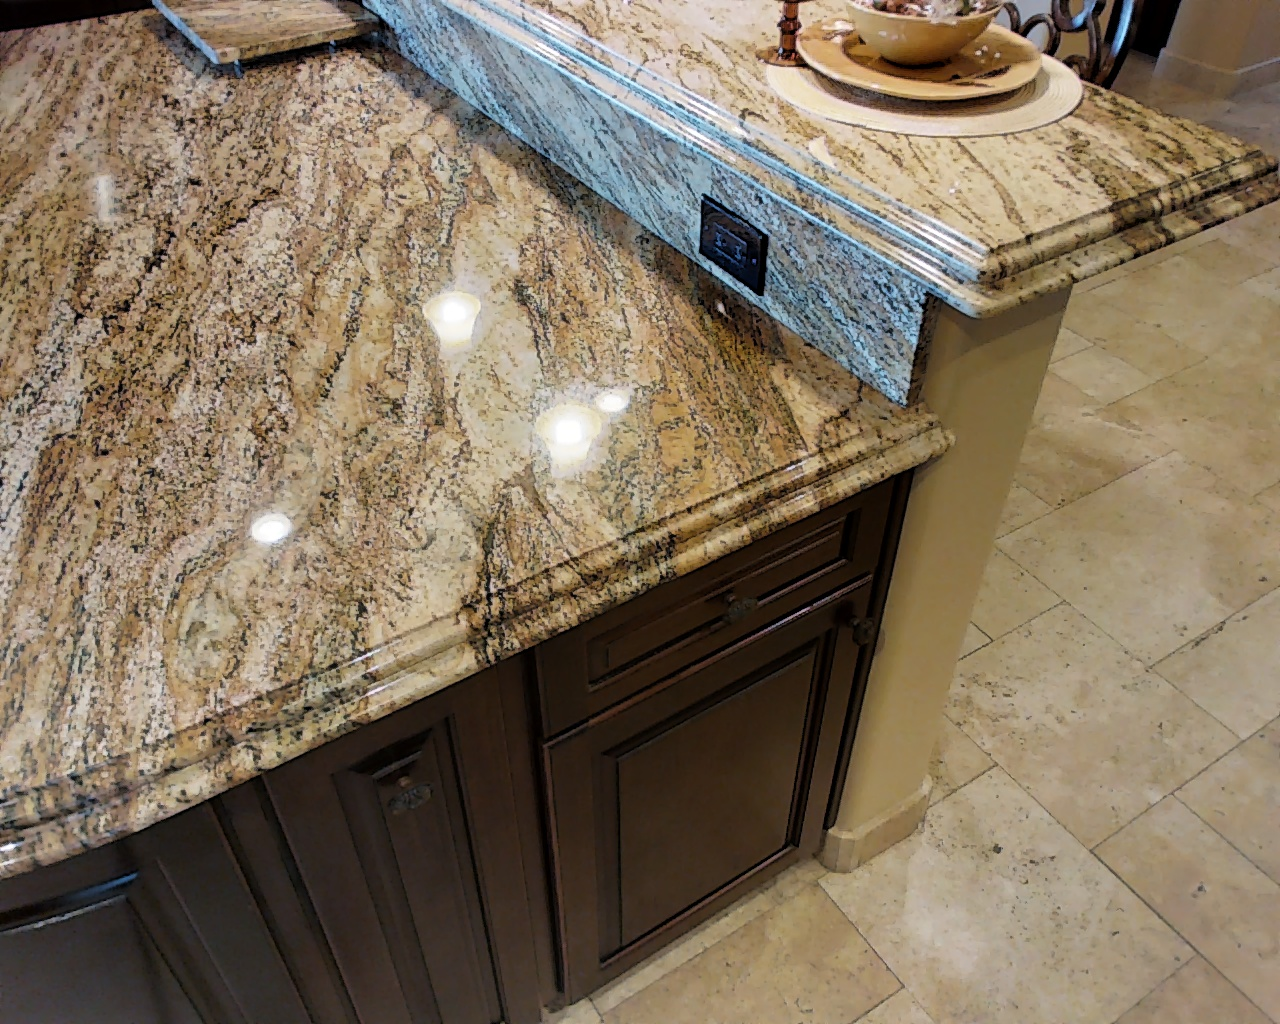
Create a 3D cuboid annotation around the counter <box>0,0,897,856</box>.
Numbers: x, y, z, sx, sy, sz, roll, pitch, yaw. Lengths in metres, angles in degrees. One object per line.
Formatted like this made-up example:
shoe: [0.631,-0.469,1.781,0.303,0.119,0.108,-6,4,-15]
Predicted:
counter: [-0.820,-0.370,1.450,1.390,0.100,1.860,-23,47,-24]
